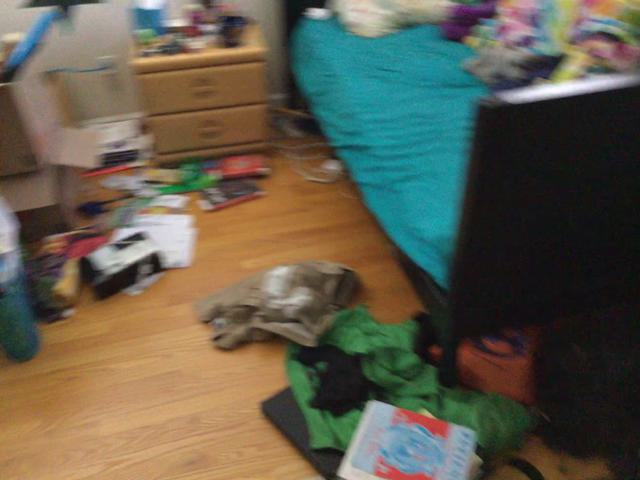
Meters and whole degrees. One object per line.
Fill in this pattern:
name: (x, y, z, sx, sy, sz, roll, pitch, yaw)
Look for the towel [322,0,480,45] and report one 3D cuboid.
towel: (0.360, -1.080, 2.670, 0.640, 0.190, 0.340, -9, 37, -9)
